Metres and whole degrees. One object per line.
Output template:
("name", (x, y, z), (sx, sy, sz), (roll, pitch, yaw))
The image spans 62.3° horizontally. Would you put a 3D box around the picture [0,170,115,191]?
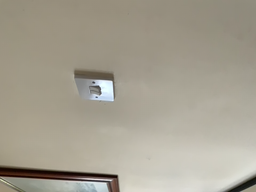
("picture", (-0.470, 0.750, 1.610), (1.100, 0.740, 0.050), (95, -178, -58))
